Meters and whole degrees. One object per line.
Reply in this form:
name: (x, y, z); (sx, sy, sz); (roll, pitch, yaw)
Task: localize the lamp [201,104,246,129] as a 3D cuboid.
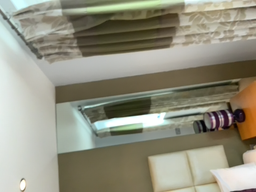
lamp: (0.890, 0.200, 2.000); (0.190, 0.310, 0.160); (92, 170, -74)
